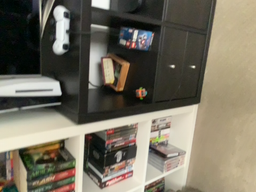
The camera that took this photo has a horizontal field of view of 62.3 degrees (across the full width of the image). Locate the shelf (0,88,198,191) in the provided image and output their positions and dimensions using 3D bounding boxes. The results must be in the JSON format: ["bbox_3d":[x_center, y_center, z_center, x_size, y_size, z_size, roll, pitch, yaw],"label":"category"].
[{"bbox_3d":[-0.320,0.430,0.980,0.430,1.470,0.790,17,107,47],"label":"shelf"}]
